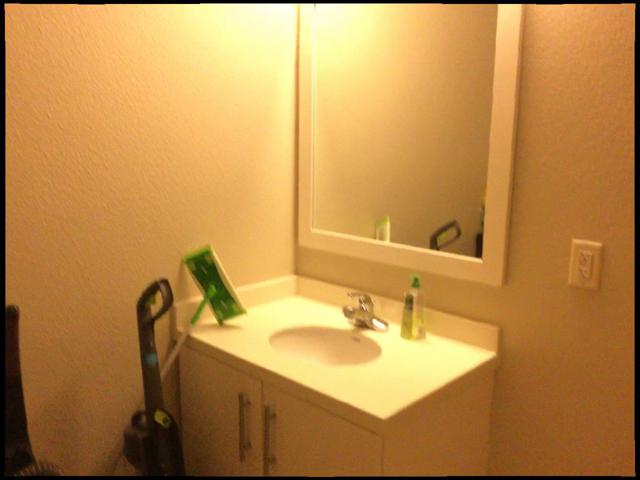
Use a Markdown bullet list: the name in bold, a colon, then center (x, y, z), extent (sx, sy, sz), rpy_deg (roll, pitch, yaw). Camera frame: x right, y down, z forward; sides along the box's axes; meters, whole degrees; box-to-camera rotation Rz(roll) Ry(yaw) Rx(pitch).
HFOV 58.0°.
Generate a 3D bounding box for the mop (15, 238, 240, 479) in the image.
- **mop**: center (-0.689, 0.631, 1.690), extent (0.120, 1.361, 0.230), rpy_deg (10, -25, 46)

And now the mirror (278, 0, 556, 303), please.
- **mirror**: center (0.230, -0.351, 1.860), extent (0.919, 0.892, 0.130), rpy_deg (14, 18, 41)

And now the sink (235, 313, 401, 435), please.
- **sink**: center (-0.010, 0.381, 1.740), extent (0.380, 0.150, 0.320), rpy_deg (14, 18, 41)
